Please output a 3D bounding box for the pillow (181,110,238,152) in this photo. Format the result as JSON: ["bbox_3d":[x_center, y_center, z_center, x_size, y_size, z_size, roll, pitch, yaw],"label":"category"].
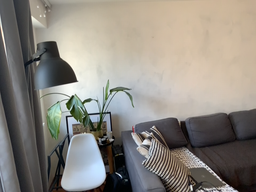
[{"bbox_3d":[1.110,0.480,2.940,0.620,0.440,0.250,-5,30,-12],"label":"pillow"}]

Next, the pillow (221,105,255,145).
[{"bbox_3d":[1.770,0.410,3.050,0.650,0.470,0.270,-3,28,-8],"label":"pillow"}]
